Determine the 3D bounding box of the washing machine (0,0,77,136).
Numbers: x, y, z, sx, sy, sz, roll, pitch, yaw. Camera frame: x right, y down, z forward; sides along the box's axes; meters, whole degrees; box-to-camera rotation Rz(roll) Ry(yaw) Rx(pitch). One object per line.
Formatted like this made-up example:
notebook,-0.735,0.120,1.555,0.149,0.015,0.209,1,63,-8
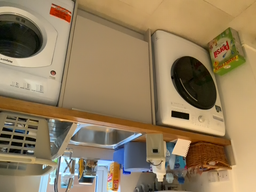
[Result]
washing machine,-0.760,-0.280,1.420,0.580,0.870,0.650,14,150,-25

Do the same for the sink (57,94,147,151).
sink,-0.210,0.230,1.560,0.470,0.190,0.540,14,150,-25

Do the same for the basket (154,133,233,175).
basket,0.510,0.500,1.750,0.370,0.220,0.490,14,150,-25
